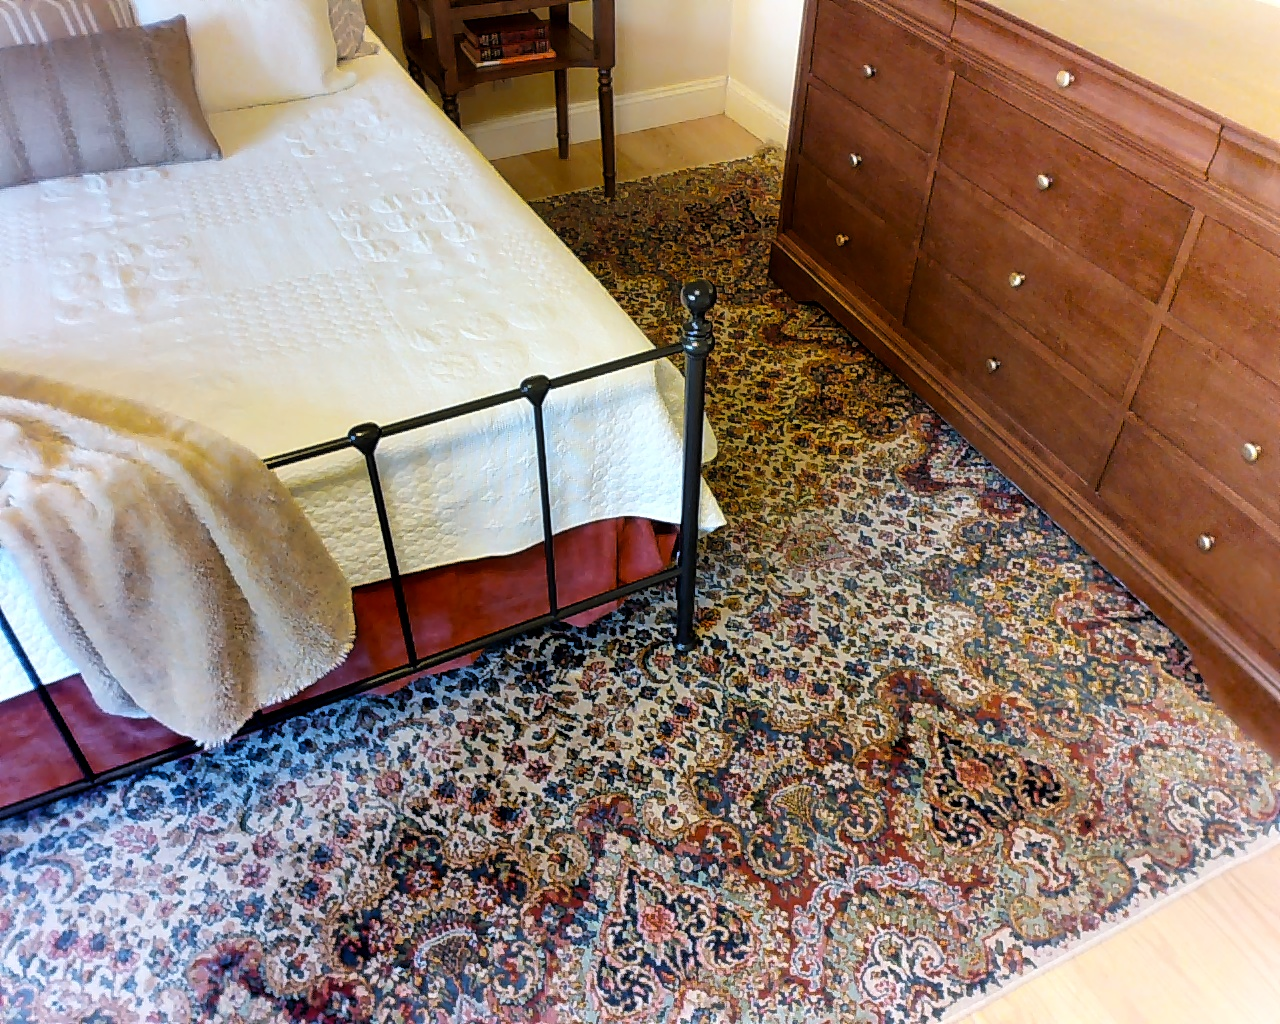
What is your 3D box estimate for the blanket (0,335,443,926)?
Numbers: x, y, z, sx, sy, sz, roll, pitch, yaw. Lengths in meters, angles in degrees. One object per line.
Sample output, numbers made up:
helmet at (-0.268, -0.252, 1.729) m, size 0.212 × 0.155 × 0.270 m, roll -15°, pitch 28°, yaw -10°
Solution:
blanket at (-1.030, 0.050, 1.520) m, size 1.360 × 0.410 × 0.500 m, roll 13°, pitch 44°, yaw 13°
